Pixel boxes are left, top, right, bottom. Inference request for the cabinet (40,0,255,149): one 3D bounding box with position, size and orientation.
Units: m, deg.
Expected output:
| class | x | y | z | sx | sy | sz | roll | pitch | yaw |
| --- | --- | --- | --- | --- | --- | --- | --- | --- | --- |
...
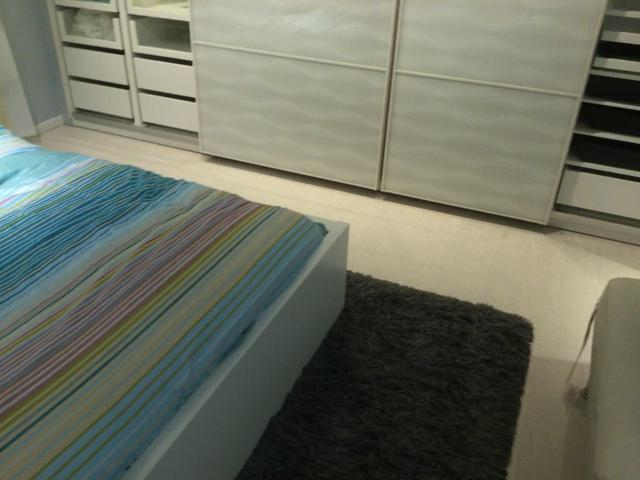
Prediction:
| class | x | y | z | sx | sy | sz | roll | pitch | yaw |
| --- | --- | --- | --- | --- | --- | --- | --- | --- | --- |
| cabinet | -0.910 | -1.740 | 2.840 | 0.860 | 2.360 | 0.670 | 13 | 33 | 20 |
